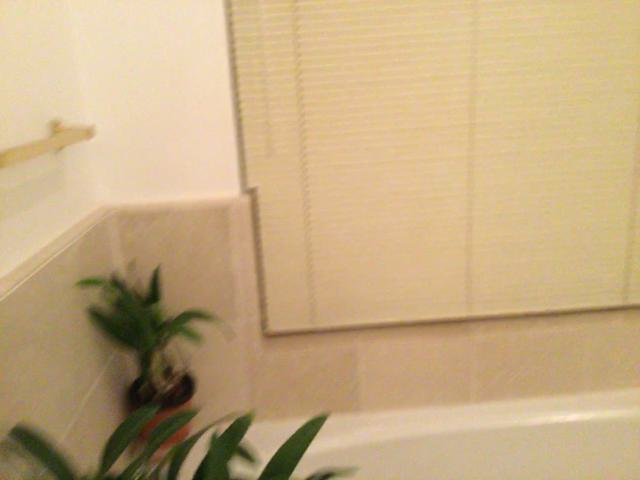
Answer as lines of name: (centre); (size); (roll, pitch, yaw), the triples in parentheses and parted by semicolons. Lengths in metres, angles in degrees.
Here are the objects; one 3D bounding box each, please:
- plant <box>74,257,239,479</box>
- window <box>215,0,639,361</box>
plant: (-0.360, 0.320, 1.370); (0.240, 0.480, 0.280); (-6, 14, 1)
window: (0.400, -0.270, 1.420); (1.210, 1.080, 0.070); (-6, 14, 1)
